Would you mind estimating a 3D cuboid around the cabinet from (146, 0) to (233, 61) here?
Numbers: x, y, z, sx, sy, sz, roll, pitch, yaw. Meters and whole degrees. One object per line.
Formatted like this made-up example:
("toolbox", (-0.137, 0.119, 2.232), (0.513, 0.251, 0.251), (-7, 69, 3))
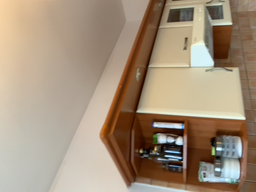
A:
("cabinet", (0.600, -0.750, 2.090), (0.380, 0.670, 0.790), (74, -155, -46))
